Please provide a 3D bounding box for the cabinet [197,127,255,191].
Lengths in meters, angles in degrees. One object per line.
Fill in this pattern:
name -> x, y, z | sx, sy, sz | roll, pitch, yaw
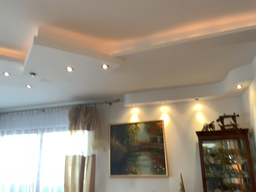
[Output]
cabinet -> 1.280, 1.400, 2.600 | 0.640, 1.950, 0.380 | -5, -15, 15
